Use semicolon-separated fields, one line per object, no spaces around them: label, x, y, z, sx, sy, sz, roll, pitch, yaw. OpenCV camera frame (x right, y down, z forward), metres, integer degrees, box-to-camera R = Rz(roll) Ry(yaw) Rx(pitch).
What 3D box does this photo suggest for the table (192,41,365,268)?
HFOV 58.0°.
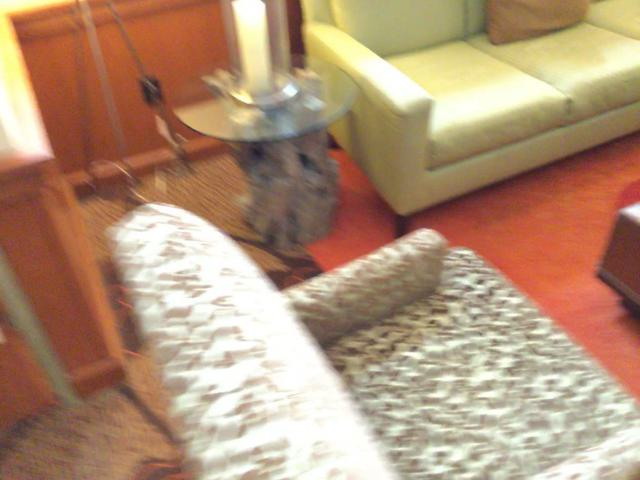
table;-0.150;-0.340;2.250;0.440;0.590;0.530;-20;45;-14
